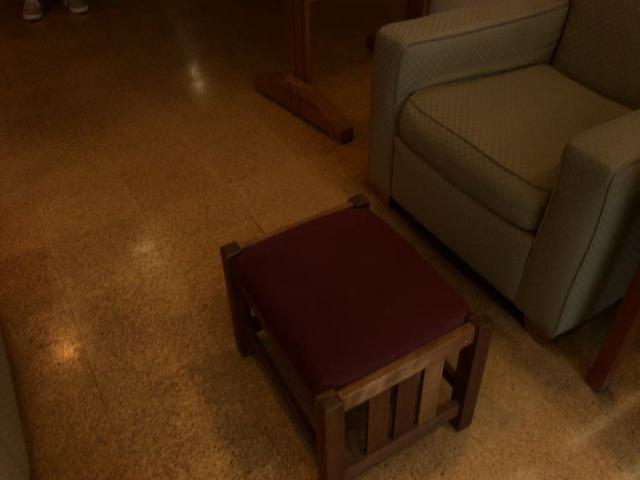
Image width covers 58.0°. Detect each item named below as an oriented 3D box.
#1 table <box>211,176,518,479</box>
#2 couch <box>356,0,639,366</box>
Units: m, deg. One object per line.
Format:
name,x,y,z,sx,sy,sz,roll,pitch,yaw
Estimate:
table,0.070,0.200,1.320,0.420,0.380,0.510,-21,46,-22
couch,0.710,-0.370,1.630,0.840,0.760,0.900,-21,46,-21
